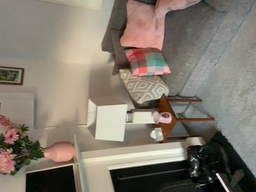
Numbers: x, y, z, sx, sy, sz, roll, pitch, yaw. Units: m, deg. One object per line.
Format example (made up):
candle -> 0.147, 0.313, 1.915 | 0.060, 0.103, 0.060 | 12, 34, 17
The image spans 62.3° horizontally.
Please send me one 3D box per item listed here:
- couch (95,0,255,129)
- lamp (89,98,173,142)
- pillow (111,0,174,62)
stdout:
couch -> 0.410, -0.940, 1.920 | 1.130, 0.790, 2.450 | -112, 33, -43
lamp -> 0.020, 0.200, 1.850 | 0.240, 0.640, 0.260 | -113, 33, -42
pillow -> 0.160, -0.670, 2.100 | 0.160, 0.450, 0.490 | 32, 91, 49
